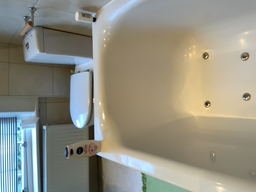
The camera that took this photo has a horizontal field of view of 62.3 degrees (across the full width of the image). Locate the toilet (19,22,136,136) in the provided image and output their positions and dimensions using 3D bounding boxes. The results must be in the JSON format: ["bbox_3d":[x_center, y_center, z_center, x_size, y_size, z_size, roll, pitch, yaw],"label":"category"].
[{"bbox_3d":[-0.380,-0.090,1.650,0.450,0.770,0.670,-3,87,53],"label":"toilet"}]
